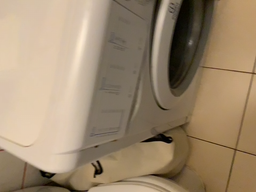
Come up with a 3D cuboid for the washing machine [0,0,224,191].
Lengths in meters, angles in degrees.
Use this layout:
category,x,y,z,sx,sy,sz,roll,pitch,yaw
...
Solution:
category,x,y,z,sx,sy,sz,roll,pitch,yaw
washing machine,-0.040,-0.200,0.730,0.500,0.860,0.600,13,95,28
